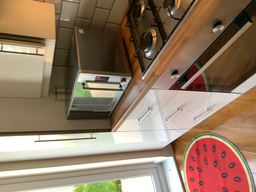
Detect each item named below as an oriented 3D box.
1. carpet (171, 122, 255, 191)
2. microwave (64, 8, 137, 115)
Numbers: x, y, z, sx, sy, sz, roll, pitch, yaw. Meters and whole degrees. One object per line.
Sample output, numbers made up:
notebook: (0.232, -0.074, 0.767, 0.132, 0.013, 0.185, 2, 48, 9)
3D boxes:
carpet: (0.700, 0.720, 1.860, 0.760, 0.040, 0.710, 123, 141, -49)
microwave: (-0.230, -0.190, 1.450, 0.570, 0.300, 0.430, 126, 138, -51)
